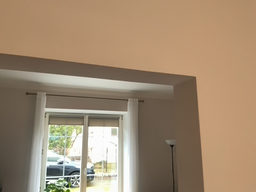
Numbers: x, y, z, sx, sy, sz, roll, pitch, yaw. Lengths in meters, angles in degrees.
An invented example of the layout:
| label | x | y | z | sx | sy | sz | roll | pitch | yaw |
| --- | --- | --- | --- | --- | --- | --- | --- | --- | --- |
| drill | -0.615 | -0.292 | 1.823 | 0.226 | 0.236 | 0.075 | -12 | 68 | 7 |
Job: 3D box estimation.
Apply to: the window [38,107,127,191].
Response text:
| label | x | y | z | sx | sy | sz | roll | pitch | yaw |
| --- | --- | --- | --- | --- | --- | --- | --- | --- | --- |
| window | -0.910 | 1.520 | 4.520 | 1.790 | 2.510 | 0.250 | 3 | -11 | -16 |
